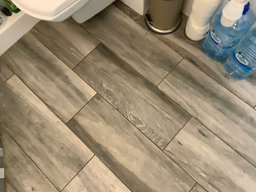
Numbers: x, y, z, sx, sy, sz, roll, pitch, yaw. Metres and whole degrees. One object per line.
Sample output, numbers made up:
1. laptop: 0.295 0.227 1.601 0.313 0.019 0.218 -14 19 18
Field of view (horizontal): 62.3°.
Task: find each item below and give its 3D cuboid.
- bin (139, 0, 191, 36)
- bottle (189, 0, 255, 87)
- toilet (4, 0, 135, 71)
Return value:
1. bin: 0.200 -0.510 1.160 0.190 0.210 0.210 42 78 14
2. bottle: 0.490 -0.250 1.000 0.280 0.320 0.180 43 79 14
3. toilet: -0.280 -0.510 1.080 0.370 0.430 0.520 41 78 14
